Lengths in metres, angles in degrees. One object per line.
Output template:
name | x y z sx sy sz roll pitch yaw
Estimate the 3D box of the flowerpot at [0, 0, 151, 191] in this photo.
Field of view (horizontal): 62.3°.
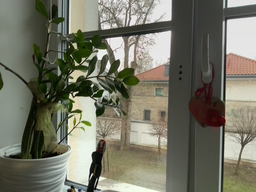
flowerpot | -0.300 0.200 0.760 0.560 0.890 0.550 3 2 27
